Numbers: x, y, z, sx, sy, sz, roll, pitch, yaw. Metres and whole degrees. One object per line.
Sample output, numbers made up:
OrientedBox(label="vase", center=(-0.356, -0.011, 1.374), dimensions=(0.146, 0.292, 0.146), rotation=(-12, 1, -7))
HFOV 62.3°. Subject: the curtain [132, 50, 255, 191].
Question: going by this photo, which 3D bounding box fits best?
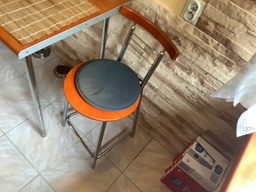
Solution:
OrientedBox(label="curtain", center=(0.560, -0.140, 0.360), dimensions=(0.360, 2.750, 0.430), rotation=(38, 53, 13))
